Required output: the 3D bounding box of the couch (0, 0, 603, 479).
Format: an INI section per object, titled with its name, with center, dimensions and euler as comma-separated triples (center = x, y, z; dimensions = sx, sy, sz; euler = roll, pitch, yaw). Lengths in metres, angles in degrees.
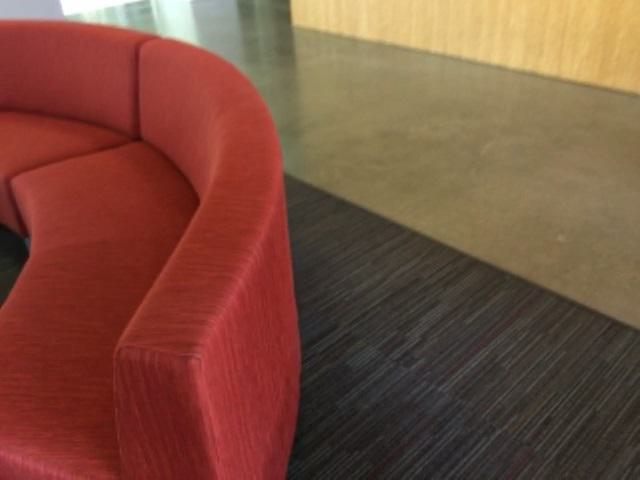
[couch]
center = -0.860, -0.200, 1.970
dimensions = 1.270, 0.810, 2.950
euler = -25, 38, -29
